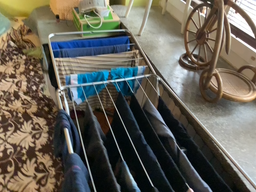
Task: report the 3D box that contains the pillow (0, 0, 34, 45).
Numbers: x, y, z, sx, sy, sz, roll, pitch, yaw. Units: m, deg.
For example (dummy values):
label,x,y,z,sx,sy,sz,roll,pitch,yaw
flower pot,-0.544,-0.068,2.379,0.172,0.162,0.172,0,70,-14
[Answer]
label,x,y,z,sx,sy,sz,roll,pitch,yaw
pillow,-1.180,-0.670,1.820,0.600,0.360,0.300,-14,46,-24
